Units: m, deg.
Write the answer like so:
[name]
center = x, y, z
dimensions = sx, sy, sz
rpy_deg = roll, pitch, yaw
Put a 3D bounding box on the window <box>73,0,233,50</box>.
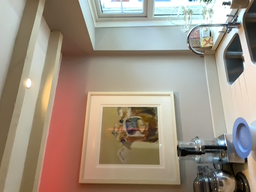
[window]
center = 0.190, -0.860, 1.730
dimensions = 1.100, 1.220, 0.320
rpy_deg = 87, -176, -63
